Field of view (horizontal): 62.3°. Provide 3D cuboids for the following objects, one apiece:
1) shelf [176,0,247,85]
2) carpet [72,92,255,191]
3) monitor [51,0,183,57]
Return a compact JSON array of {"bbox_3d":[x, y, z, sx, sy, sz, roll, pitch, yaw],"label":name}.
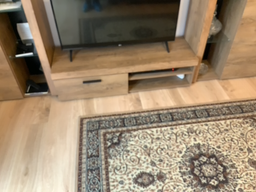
[{"bbox_3d":[0.690,-0.670,1.780,0.290,1.140,0.390,-6,43,-6],"label":"shelf"},{"bbox_3d":[0.500,0.470,1.420,1.720,0.020,1.230,-6,43,-6],"label":"carpet"},{"bbox_3d":[-0.060,-0.620,1.700,0.980,0.580,0.060,-7,46,-7],"label":"monitor"}]
